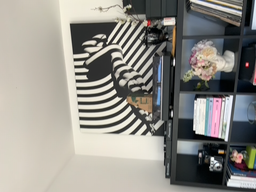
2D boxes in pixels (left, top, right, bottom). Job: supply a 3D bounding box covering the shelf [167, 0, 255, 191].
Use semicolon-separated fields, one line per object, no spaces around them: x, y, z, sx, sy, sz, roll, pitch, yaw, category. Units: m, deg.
1.070;-0.040;1.480;0.420;1.530;1.560;-60;-31;-71;shelf
